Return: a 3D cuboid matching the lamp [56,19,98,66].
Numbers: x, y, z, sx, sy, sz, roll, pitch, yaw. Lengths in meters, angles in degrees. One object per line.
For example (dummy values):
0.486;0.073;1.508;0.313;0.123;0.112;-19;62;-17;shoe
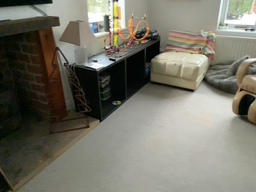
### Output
-0.550;-0.600;2.340;0.260;0.430;0.300;14;31;28;lamp
